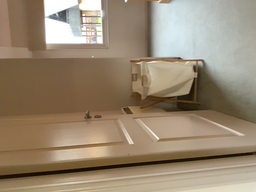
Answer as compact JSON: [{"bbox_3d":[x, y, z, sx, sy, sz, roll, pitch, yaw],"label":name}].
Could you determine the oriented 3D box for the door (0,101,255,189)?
[{"bbox_3d":[-0.260,0.200,1.240,0.970,2.070,0.100,-149,57,-78],"label":"door"}]
